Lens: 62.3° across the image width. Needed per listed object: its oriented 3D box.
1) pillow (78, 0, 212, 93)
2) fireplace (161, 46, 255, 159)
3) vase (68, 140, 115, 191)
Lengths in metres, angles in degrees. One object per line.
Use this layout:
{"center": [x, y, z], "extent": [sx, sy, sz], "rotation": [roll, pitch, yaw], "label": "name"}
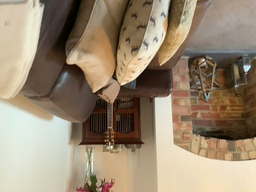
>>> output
{"center": [0.050, -0.260, 0.920], "extent": [0.440, 0.410, 0.370], "rotation": [1, 166, -2], "label": "pillow"}
{"center": [0.950, 0.090, 2.320], "extent": [1.070, 1.140, 0.460], "rotation": [0, 166, -1], "label": "fireplace"}
{"center": [-0.360, 0.820, 2.180], "extent": [0.410, 0.700, 0.300], "rotation": [0, 166, 2], "label": "vase"}
